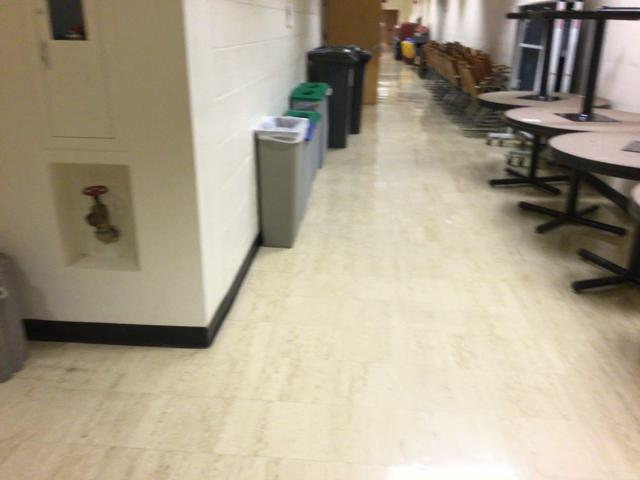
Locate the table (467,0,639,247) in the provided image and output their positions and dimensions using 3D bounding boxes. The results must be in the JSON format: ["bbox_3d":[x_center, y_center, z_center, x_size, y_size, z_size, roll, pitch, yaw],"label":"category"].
[{"bbox_3d":[1.720,-0.910,4.060,1.010,1.480,1.620,1,18,5],"label":"table"}]

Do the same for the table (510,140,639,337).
[{"bbox_3d":[1.640,-0.060,2.890,1.100,0.740,0.940,1,18,6],"label":"table"}]
